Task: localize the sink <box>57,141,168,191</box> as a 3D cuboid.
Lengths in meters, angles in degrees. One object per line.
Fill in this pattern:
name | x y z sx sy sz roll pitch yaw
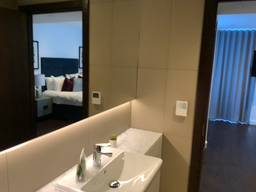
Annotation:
sink | -0.060 0.490 1.330 0.480 0.150 0.560 7 11 24
